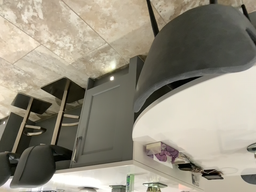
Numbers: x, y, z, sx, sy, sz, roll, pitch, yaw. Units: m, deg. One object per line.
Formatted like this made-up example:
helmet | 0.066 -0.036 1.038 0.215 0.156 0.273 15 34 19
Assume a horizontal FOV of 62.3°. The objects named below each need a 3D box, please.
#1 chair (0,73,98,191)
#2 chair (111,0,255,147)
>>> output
chair | -0.720 0.380 2.110 0.500 1.000 0.510 -17 143 31
chair | 0.370 -0.250 1.110 0.550 0.800 0.630 -21 141 35
